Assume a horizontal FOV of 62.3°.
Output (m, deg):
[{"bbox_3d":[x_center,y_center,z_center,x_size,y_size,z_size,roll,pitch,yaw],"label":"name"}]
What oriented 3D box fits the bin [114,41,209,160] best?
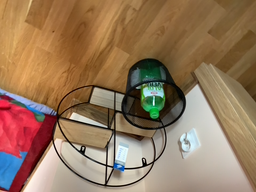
[{"bbox_3d":[0.110,0.000,0.890,0.230,0.400,0.230,31,120,-22],"label":"bin"}]
